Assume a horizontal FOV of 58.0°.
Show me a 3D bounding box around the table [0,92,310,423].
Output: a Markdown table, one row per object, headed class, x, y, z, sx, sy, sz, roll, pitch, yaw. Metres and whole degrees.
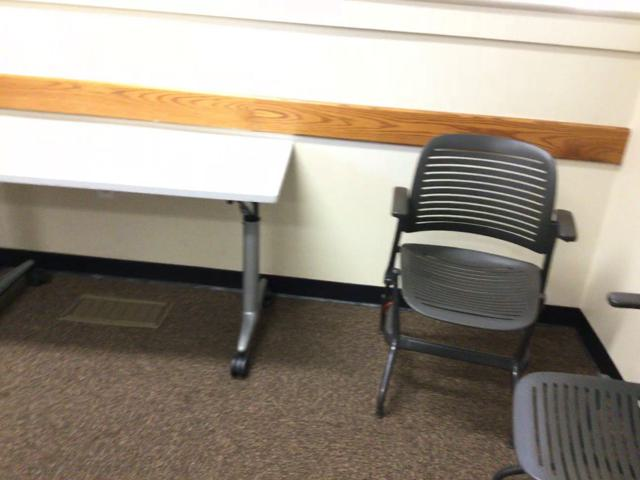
| class | x | y | z | sx | sy | sz | roll | pitch | yaw |
| --- | --- | --- | --- | --- | --- | --- | --- | --- | --- |
| table | -1.310 | -0.070 | 2.090 | 2.430 | 0.800 | 0.810 | 6 | 22 | 3 |
